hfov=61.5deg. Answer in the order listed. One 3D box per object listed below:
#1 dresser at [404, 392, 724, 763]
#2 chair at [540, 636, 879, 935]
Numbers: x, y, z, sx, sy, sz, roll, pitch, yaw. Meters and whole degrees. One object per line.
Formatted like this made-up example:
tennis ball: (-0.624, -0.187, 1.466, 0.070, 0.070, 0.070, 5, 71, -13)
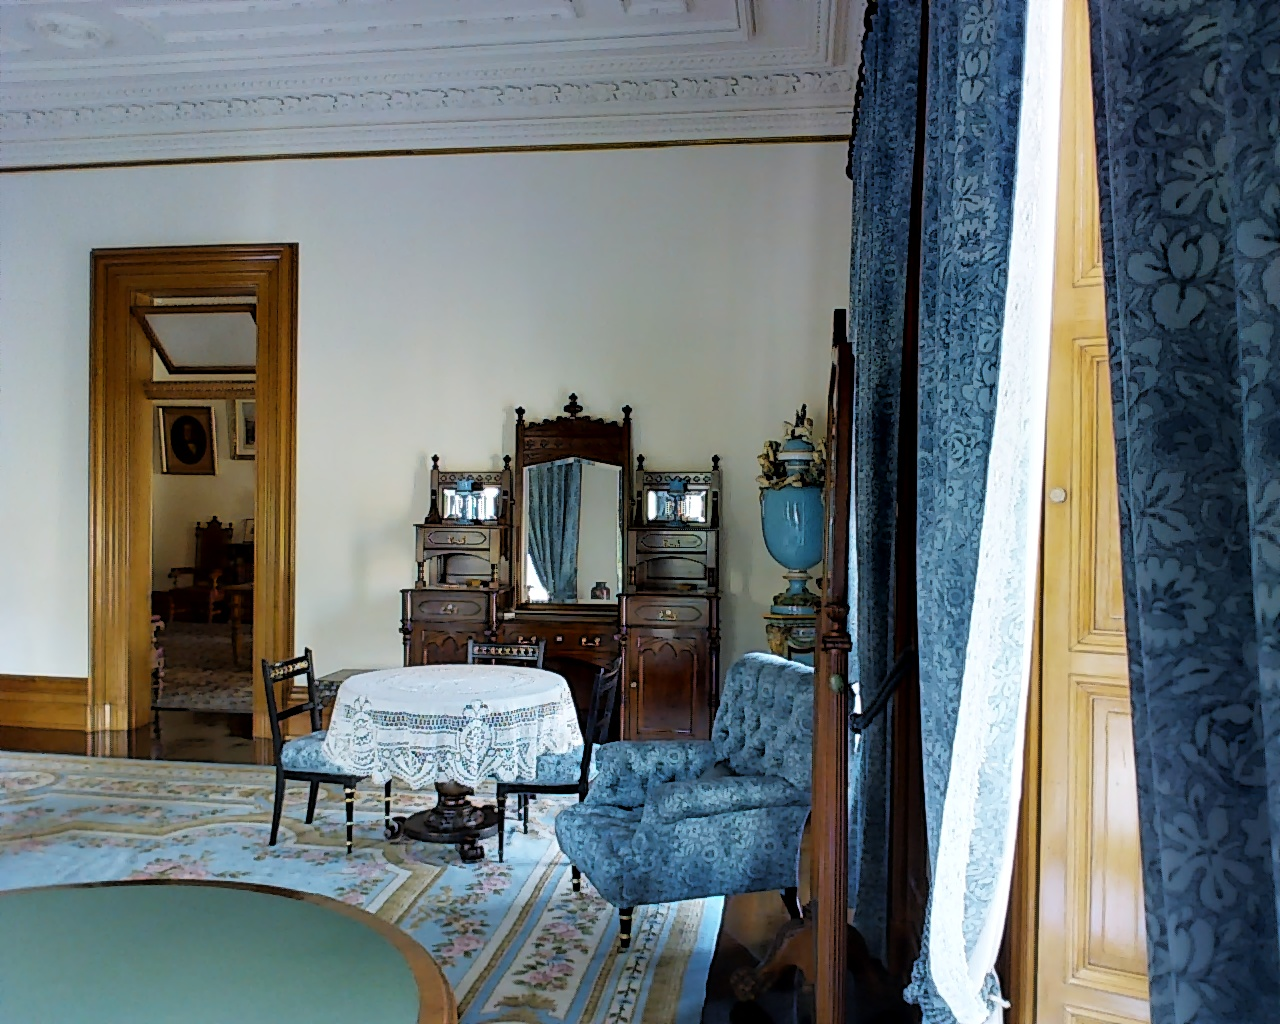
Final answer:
dresser: (-0.450, 0.370, 6.670, 1.880, 2.150, 0.590, 1, 0, 9)
chair: (0.240, 0.980, 4.180, 1.040, 0.860, 0.850, 0, 0, -22)
